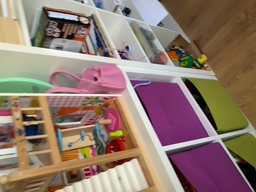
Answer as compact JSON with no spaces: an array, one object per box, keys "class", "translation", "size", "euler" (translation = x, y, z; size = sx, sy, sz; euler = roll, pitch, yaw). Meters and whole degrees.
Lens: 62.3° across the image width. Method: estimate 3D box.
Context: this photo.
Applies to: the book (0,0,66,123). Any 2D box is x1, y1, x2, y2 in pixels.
[{"class":"book","translation":[-0.450,-0.170,0.810],"size":[0.420,0.210,0.380],"euler":[-48,54,39]}]
